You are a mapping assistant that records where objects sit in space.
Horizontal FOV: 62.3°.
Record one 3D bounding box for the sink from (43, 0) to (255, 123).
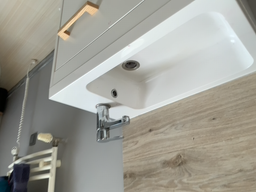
[{"bbox_3d":[0.060,-0.090,0.680,0.610,0.120,0.370,-25,146,36],"label":"sink"}]
